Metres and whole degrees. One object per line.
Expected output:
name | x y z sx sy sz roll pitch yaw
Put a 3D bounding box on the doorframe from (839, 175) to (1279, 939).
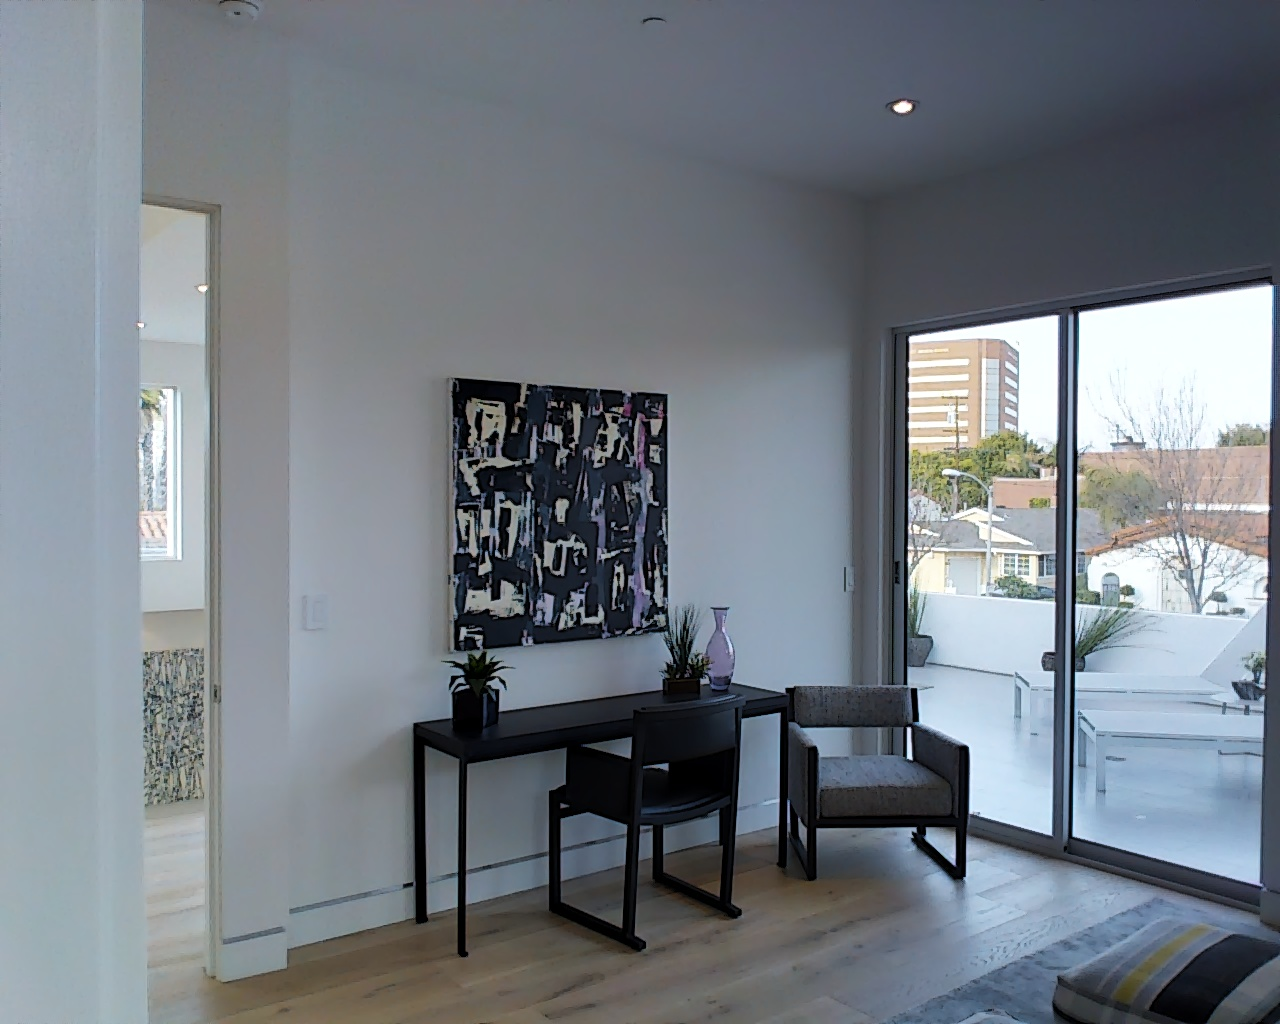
doorframe | 1.809 0.150 4.850 0.200 2.811 2.230 -1 1 -37
